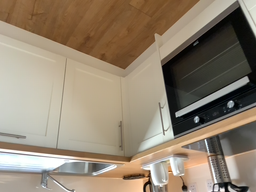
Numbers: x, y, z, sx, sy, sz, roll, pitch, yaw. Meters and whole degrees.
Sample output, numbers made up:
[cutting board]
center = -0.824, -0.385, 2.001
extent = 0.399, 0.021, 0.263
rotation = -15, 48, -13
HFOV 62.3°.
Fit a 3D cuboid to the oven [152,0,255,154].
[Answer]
[oven]
center = 0.640, -0.180, 1.410
extent = 0.600, 0.930, 0.590
rotation = 16, 145, -33
